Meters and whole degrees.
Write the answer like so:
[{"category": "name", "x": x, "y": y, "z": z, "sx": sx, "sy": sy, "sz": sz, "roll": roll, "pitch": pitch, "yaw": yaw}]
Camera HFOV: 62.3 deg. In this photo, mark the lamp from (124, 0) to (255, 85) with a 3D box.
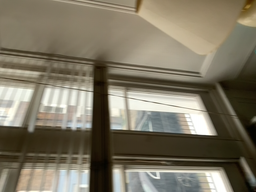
[{"category": "lamp", "x": 0.360, "y": -0.410, "z": 0.880, "sx": 0.480, "sy": 0.640, "sz": 0.490, "roll": -97, "pitch": 17, "yaw": -45}]
